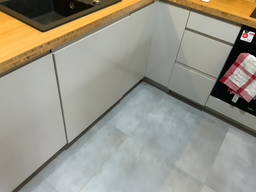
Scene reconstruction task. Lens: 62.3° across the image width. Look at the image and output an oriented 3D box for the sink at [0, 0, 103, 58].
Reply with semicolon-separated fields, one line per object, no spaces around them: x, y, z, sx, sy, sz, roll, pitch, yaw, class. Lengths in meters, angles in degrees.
-0.430;-0.440;1.170;0.440;0.160;0.380;29;47;22;sink
